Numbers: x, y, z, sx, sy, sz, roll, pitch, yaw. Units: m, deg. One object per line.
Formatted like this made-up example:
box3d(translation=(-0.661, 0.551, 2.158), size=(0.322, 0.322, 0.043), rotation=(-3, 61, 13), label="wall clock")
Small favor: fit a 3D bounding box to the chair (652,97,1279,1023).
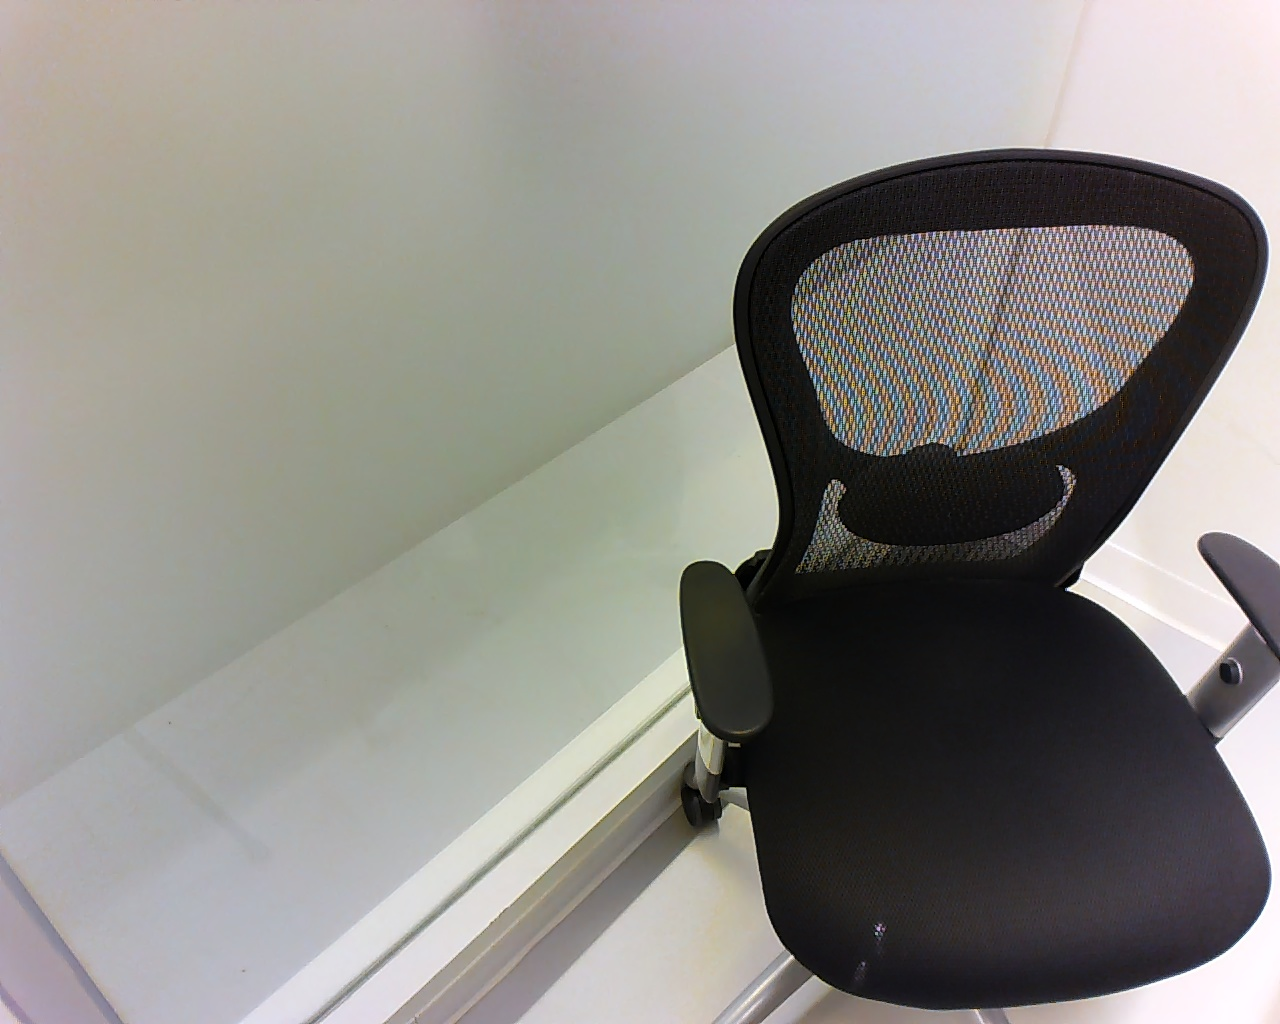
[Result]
box3d(translation=(0.410, 0.220, 1.180), size=(0.730, 1.060, 0.740), rotation=(-2, 43, -3), label="chair")
